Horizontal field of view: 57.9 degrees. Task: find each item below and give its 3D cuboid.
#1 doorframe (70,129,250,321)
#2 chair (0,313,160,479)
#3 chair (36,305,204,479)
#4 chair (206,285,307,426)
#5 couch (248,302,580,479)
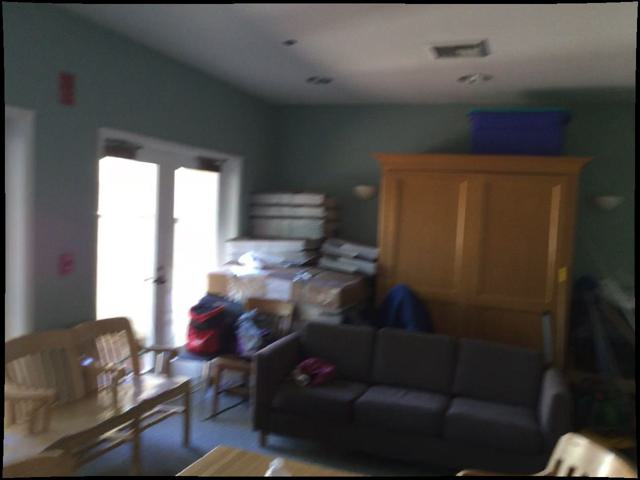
[{"bbox_3d":[-1.129,-0.170,4.540,0.300,1.211,1.830,3,6,22],"label":"doorframe"},{"bbox_3d":[-1.409,0.911,3.150,0.719,0.821,0.760,3,6,22],"label":"chair"},{"bbox_3d":[-1.229,0.901,3.640,0.729,0.801,0.670,3,6,22],"label":"chair"},{"bbox_3d":[-0.470,0.831,4.370,0.520,0.851,0.620,3,6,22],"label":"chair"},{"bbox_3d":[0.599,0.941,3.780,1.928,0.731,0.900,3,6,22],"label":"couch"}]
